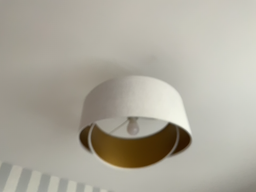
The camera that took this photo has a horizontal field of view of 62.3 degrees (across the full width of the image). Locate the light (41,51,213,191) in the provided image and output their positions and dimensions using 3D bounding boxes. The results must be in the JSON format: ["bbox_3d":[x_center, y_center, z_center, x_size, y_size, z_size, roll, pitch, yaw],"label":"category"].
[{"bbox_3d":[0.040,0.110,1.180,0.450,0.540,0.690,55,32,8],"label":"light"}]
